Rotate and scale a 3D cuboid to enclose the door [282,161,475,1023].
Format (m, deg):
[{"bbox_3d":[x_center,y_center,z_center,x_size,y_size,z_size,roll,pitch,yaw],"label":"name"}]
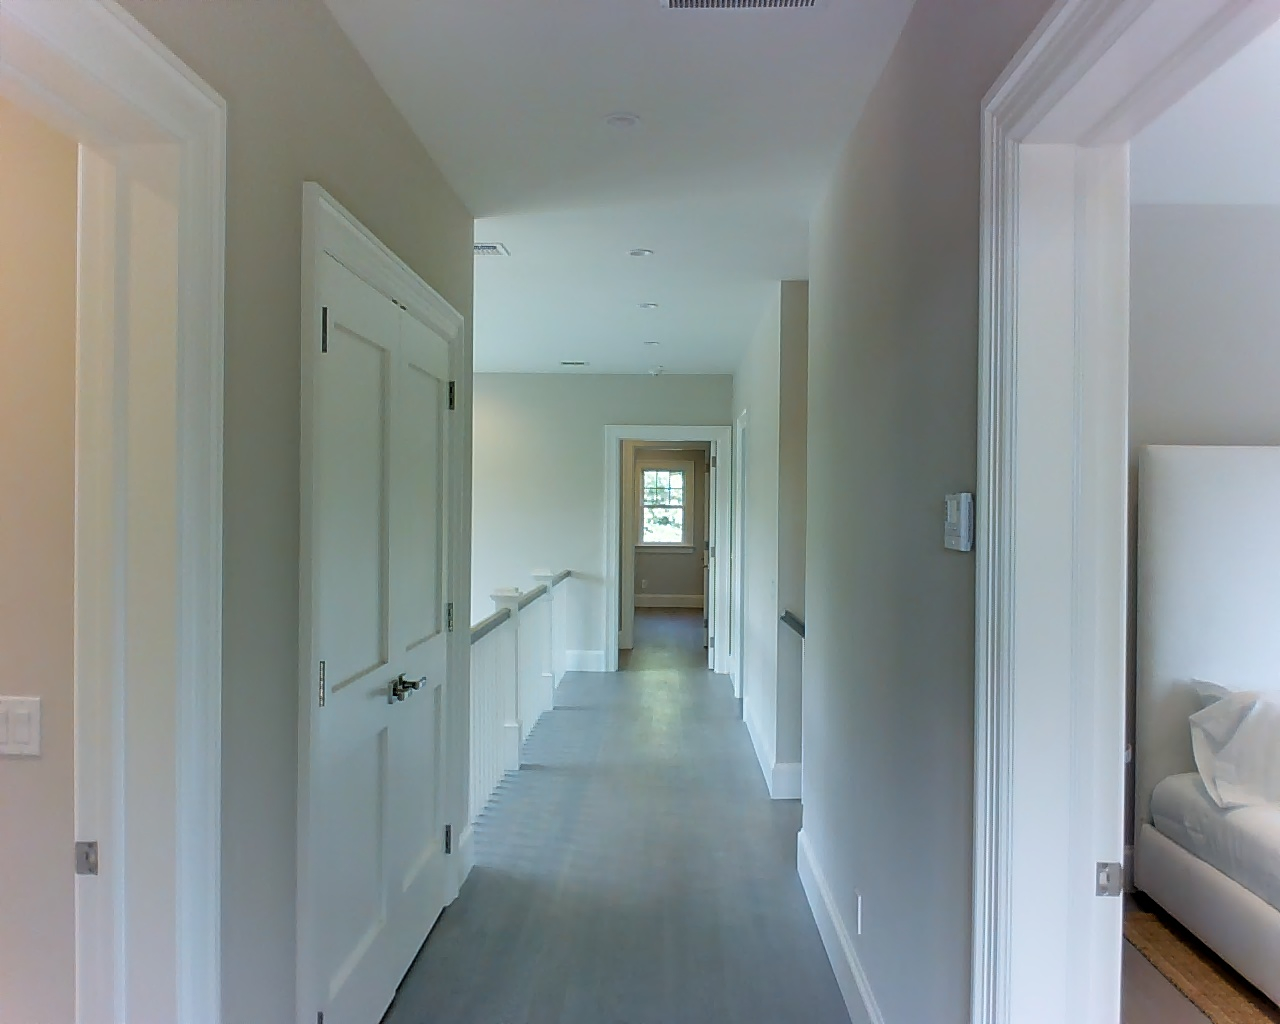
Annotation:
[{"bbox_3d":[-0.740,0.340,3.380,0.050,2.270,1.900,1,0,2],"label":"door"}]
